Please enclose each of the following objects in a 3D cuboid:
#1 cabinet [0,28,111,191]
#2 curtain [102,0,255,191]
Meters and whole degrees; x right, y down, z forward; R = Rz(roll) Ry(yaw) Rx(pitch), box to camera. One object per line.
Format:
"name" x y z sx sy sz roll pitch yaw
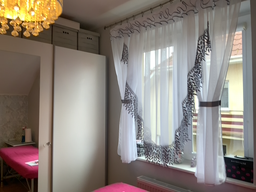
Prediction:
"cabinet" -1.000 0.510 2.470 0.650 2.190 1.530 -1 -2 45
"curtain" 0.370 0.010 2.160 1.610 2.000 0.320 -1 -2 45
